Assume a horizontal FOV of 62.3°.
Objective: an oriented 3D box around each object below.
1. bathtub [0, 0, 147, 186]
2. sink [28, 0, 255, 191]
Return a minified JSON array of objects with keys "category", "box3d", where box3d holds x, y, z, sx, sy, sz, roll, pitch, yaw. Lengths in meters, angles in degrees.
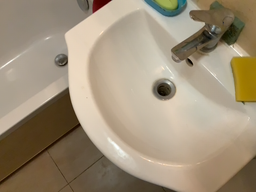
[{"category":"bathtub","box3d":[-0.690,-0.030,1.080,1.400,0.570,0.710,-36,75,-10]},{"category":"sink","box3d":[0.070,-0.010,0.560,0.380,0.190,0.510,-36,75,-10]}]
